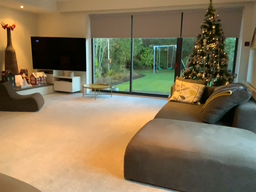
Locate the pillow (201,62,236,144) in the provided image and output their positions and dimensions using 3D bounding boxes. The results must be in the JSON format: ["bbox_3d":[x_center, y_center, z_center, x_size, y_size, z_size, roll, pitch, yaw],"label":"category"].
[{"bbox_3d":[1.120,0.030,2.640,0.300,0.450,1.030,5,38,21],"label":"pillow"}]

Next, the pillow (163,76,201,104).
[{"bbox_3d":[0.850,-0.090,3.310,0.530,0.390,0.150,7,51,23],"label":"pillow"}]
